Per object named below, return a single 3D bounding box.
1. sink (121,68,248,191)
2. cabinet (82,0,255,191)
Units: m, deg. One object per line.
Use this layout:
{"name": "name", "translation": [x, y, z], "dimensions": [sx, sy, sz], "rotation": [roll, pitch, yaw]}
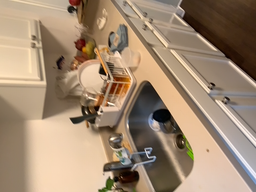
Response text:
{"name": "sink", "translation": [0.230, 0.200, 1.150], "dimensions": [0.410, 0.260, 0.590], "rotation": [-66, 35, 37]}
{"name": "cabinet", "translation": [0.330, -0.100, 1.670], "dimensions": [0.700, 0.910, 1.860], "rotation": [-66, 35, 37]}
